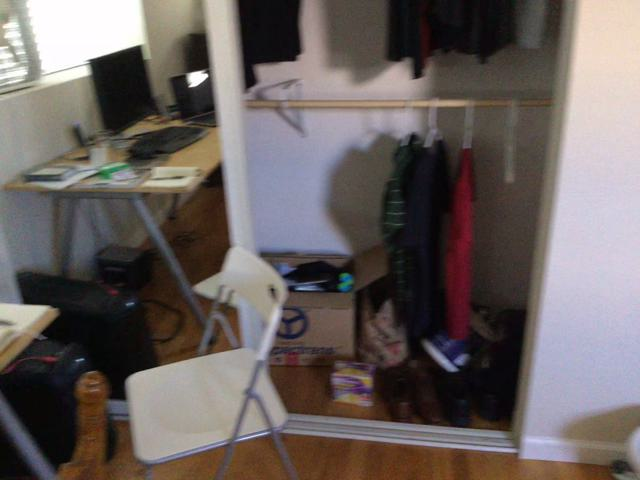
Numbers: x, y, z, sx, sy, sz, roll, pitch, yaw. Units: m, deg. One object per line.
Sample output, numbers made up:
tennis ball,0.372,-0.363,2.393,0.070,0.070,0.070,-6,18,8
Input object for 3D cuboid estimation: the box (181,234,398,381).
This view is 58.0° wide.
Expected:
box,-0.100,0.270,2.420,0.840,0.510,0.280,1,21,9
